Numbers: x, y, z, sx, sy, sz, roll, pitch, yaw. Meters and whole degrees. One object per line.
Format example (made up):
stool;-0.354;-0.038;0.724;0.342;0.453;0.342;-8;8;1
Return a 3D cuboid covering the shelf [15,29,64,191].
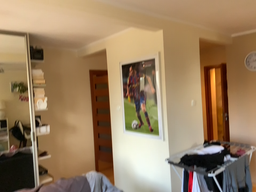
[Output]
shelf;-1.290;0.370;3.070;0.330;2.430;0.690;-5;3;-41
